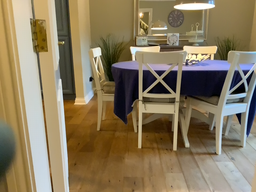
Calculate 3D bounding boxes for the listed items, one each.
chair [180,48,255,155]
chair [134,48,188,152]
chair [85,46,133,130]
[{"bbox_3d":[0.870,0.000,2.060,0.410,0.890,0.540,-6,16,-23],"label":"chair"},{"bbox_3d":[0.280,0.000,2.060,0.420,0.890,0.530,1,15,3],"label":"chair"},{"bbox_3d":[-0.190,-0.110,2.470,0.490,0.900,0.430,1,15,2],"label":"chair"}]
